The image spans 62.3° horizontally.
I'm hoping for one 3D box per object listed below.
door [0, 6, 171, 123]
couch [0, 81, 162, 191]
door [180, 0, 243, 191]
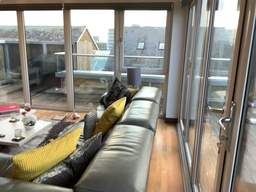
[{"bbox_3d":[-1.650,-0.660,4.350,4.810,2.190,0.070,3,14,8],"label":"door"},{"bbox_3d":[-0.240,0.480,2.250,1.050,0.750,3.060,4,14,10],"label":"couch"},{"bbox_3d":[0.710,-0.090,2.320,0.090,2.030,2.830,5,14,13],"label":"door"}]
